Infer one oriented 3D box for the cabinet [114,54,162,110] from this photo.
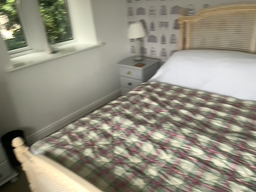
[{"bbox_3d":[0.160,-0.220,3.010,0.460,0.580,0.470,17,33,37],"label":"cabinet"}]
